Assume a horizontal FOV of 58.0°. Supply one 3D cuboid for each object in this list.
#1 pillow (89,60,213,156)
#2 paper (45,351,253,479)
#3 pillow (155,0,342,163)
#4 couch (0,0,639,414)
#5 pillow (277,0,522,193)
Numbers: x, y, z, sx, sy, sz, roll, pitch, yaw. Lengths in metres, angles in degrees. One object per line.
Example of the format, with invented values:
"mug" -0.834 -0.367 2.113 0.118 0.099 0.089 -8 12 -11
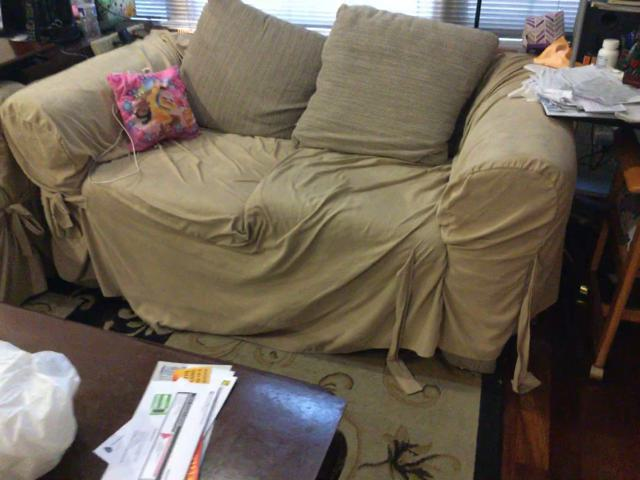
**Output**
"pillow" -0.570 -0.470 2.010 0.230 0.220 0.360 7 31 15
"paper" -0.300 0.340 1.090 0.230 0.060 0.330 5 23 16
"pillow" -0.270 -0.610 2.080 0.540 0.480 0.170 -24 -5 28
"couch" -0.080 -0.300 1.950 1.770 0.970 0.980 7 31 15
"pillow" 0.250 -0.530 1.920 0.610 0.510 0.140 -31 13 34
